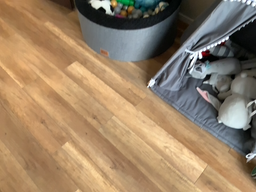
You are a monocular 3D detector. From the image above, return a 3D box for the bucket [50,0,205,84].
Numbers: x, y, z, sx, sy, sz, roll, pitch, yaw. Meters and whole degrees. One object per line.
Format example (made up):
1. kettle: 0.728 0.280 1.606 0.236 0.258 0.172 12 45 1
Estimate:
1. bucket: -0.010 -0.790 1.970 1.020 0.450 0.910 38 62 21
